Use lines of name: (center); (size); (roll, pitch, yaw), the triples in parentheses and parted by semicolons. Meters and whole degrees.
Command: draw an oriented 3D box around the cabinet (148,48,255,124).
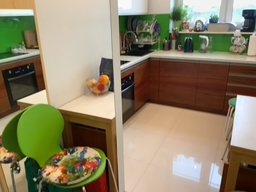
cabinet: (1.260, -0.230, 3.360); (1.770, 0.860, 0.620); (10, 24, 27)

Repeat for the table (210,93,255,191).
table: (0.960, 0.510, 1.600); (0.510, 0.740, 0.920); (10, 24, 27)

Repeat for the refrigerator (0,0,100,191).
refrigerator: (-0.770, -0.180, 1.910); (0.650, 1.860, 0.650); (10, 24, 26)
